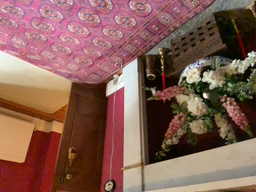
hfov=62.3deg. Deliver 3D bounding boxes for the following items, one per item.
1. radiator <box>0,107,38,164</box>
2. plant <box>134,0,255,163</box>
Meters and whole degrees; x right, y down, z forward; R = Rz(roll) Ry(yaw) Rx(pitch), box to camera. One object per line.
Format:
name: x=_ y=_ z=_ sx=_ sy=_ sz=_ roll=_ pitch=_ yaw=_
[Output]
radiator: x=-1.670 y=0.410 z=2.530 sx=1.030 sy=0.610 sz=0.100 roll=26 pitch=141 yaw=-36
plant: x=0.500 y=-0.100 z=1.460 sx=0.500 sy=0.880 sz=0.820 roll=22 pitch=143 yaw=-32
